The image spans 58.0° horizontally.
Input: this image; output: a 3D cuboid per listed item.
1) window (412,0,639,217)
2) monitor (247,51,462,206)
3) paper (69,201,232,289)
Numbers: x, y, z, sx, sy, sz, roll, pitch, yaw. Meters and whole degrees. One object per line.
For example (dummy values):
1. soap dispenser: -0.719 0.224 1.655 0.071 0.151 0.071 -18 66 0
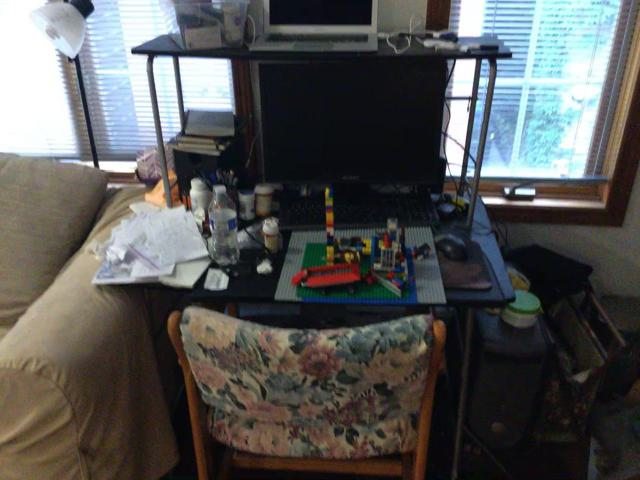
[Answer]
1. window: 0.620 -0.560 1.740 0.600 0.970 0.190 2 26 4
2. monitor: 0.090 -0.310 1.620 0.550 0.400 0.110 2 26 4
3. paper: -0.410 0.000 1.480 0.280 0.050 0.380 3 26 6
